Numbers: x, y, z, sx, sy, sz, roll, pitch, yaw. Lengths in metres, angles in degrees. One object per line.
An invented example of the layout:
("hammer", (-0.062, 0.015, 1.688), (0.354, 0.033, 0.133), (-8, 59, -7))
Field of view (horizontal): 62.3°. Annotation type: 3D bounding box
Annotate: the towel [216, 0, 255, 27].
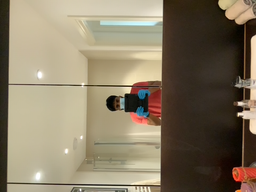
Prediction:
("towel", (0.610, -0.500, 1.170), (0.180, 0.170, 0.180), (-105, 16, -88))
